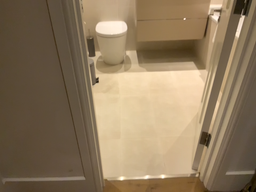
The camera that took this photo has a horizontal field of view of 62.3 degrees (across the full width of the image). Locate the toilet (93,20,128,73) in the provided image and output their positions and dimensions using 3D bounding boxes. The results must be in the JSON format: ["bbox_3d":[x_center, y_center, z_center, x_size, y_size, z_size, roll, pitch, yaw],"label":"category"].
[{"bbox_3d":[-0.190,-0.620,2.610,0.370,0.450,0.530,-1,36,-1],"label":"toilet"}]
